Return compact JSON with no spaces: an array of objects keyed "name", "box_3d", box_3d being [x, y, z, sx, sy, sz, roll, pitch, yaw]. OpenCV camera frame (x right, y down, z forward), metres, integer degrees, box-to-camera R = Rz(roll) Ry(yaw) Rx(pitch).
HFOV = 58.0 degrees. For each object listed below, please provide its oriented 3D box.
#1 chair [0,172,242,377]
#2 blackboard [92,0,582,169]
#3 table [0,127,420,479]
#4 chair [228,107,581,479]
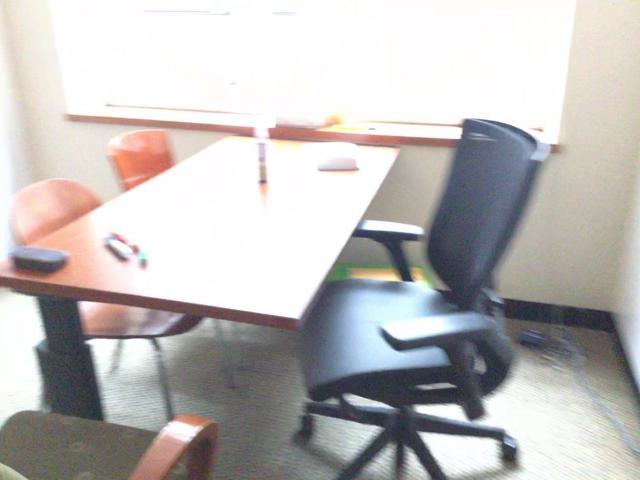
[{"name":"chair","box_3d":[-0.580,0.070,1.810,0.500,0.430,0.470,8,21,17]},{"name":"blackboard","box_3d":[0.020,-0.870,2.570,2.020,0.830,0.520,8,21,17]},{"name":"table","box_3d":[-0.260,0.180,2.020,0.910,0.870,1.480,8,21,17]},{"name":"chair","box_3d":[0.200,0.200,1.590,0.660,1.000,0.720,5,20,10]}]
